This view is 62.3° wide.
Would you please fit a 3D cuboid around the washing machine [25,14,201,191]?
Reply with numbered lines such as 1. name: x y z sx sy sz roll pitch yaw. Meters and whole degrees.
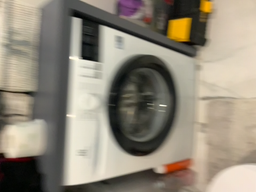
1. washing machine: -0.020 0.050 1.130 0.430 0.820 0.590 0 86 46
